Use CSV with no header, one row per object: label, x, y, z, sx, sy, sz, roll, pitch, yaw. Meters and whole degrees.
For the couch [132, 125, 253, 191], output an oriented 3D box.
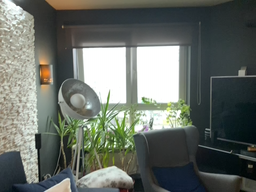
couch,0.550,0.880,2.070,0.640,0.960,0.920,-3,5,-30
